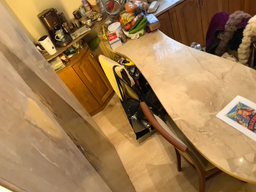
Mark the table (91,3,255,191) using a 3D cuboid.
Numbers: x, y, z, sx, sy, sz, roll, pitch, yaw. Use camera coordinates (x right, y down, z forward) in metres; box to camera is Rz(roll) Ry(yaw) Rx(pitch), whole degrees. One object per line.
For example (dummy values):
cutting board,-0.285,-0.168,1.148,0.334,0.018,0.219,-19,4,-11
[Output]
table,0.460,-0.060,2.100,0.660,0.870,2.390,-32,44,-5
